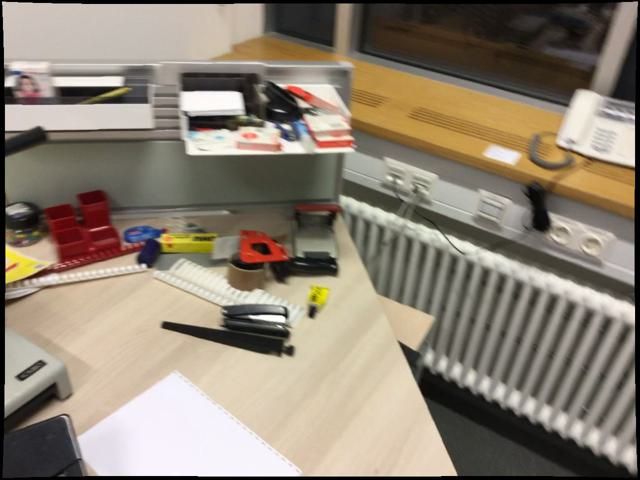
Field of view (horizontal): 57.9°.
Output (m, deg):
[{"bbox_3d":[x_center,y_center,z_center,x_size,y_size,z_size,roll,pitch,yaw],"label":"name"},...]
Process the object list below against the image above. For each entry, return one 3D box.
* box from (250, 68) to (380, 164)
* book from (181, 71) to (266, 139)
[{"bbox_3d":[-0.020,-0.270,1.220,0.190,0.080,0.260,-9,39,-19],"label":"box"},{"bbox_3d":[-0.200,-0.280,1.180,0.150,0.060,0.190,-4,38,-14],"label":"book"}]
